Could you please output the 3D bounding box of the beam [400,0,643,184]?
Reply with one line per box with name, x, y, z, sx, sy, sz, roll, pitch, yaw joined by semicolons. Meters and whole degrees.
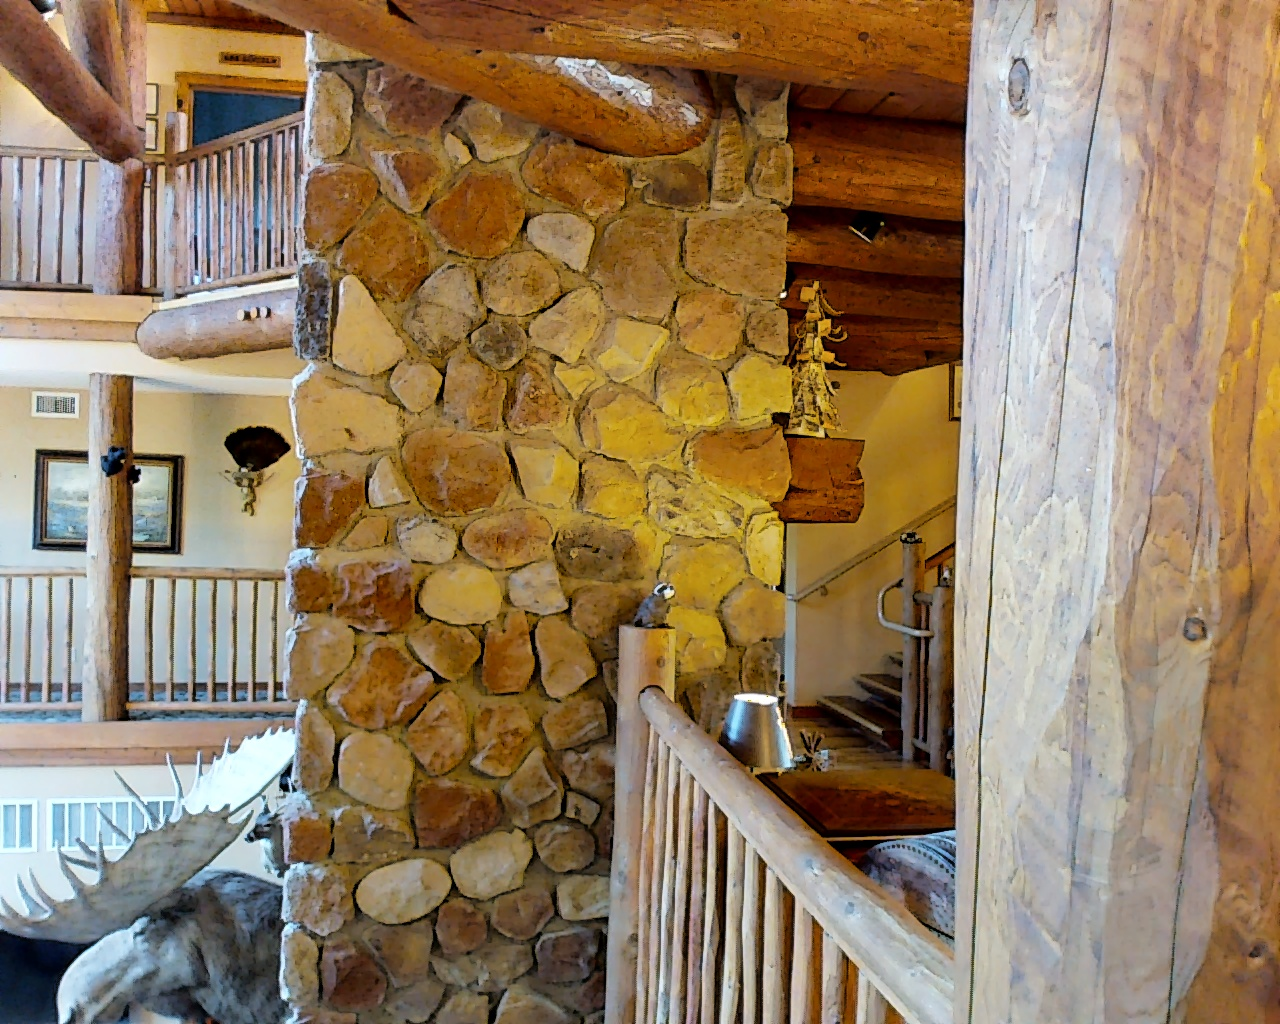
beam;-0.300;-1.110;2.840;0.420;0.300;0.500;1;0;29
